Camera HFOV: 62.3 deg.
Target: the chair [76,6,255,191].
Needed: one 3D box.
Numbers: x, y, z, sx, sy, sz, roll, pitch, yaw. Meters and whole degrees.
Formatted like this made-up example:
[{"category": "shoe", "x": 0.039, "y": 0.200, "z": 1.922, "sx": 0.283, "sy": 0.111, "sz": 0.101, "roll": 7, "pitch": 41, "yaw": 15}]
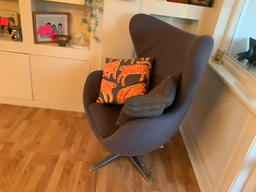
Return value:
[{"category": "chair", "x": 0.140, "y": -0.010, "z": 1.630, "sx": 0.880, "sy": 1.090, "sz": 0.820, "roll": -6, "pitch": 31, "yaw": -25}]
